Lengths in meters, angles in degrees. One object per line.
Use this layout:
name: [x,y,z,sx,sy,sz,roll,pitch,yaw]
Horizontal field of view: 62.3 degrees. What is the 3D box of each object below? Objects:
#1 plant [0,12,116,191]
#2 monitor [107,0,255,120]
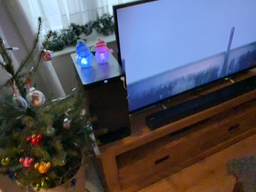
plant: [-0.410,0.210,1.090,0.490,1.070,0.370,-20,39,-19]
monitor: [0.430,-0.290,1.240,1.080,0.620,0.050,-19,39,-18]
